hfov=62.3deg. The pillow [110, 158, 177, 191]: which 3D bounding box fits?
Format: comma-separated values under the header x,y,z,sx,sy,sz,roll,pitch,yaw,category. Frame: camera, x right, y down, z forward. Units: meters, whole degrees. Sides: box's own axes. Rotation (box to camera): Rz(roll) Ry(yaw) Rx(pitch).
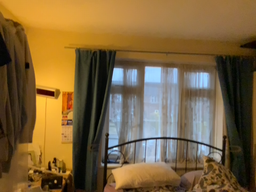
x,y,z,sx,sy,sz,roll,pitch,yaw,category
0.150,0.890,2.350,0.650,0.280,0.410,2,-1,-12,pillow
